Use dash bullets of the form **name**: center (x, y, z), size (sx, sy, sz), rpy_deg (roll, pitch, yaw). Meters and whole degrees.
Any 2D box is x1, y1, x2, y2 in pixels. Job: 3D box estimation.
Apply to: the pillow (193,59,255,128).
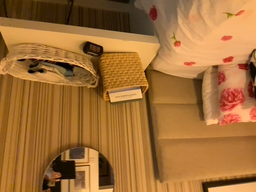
- **pillow**: center (0.900, 0.010, 1.510), size (0.760, 0.380, 0.280), rpy_deg (3, 161, -19)
